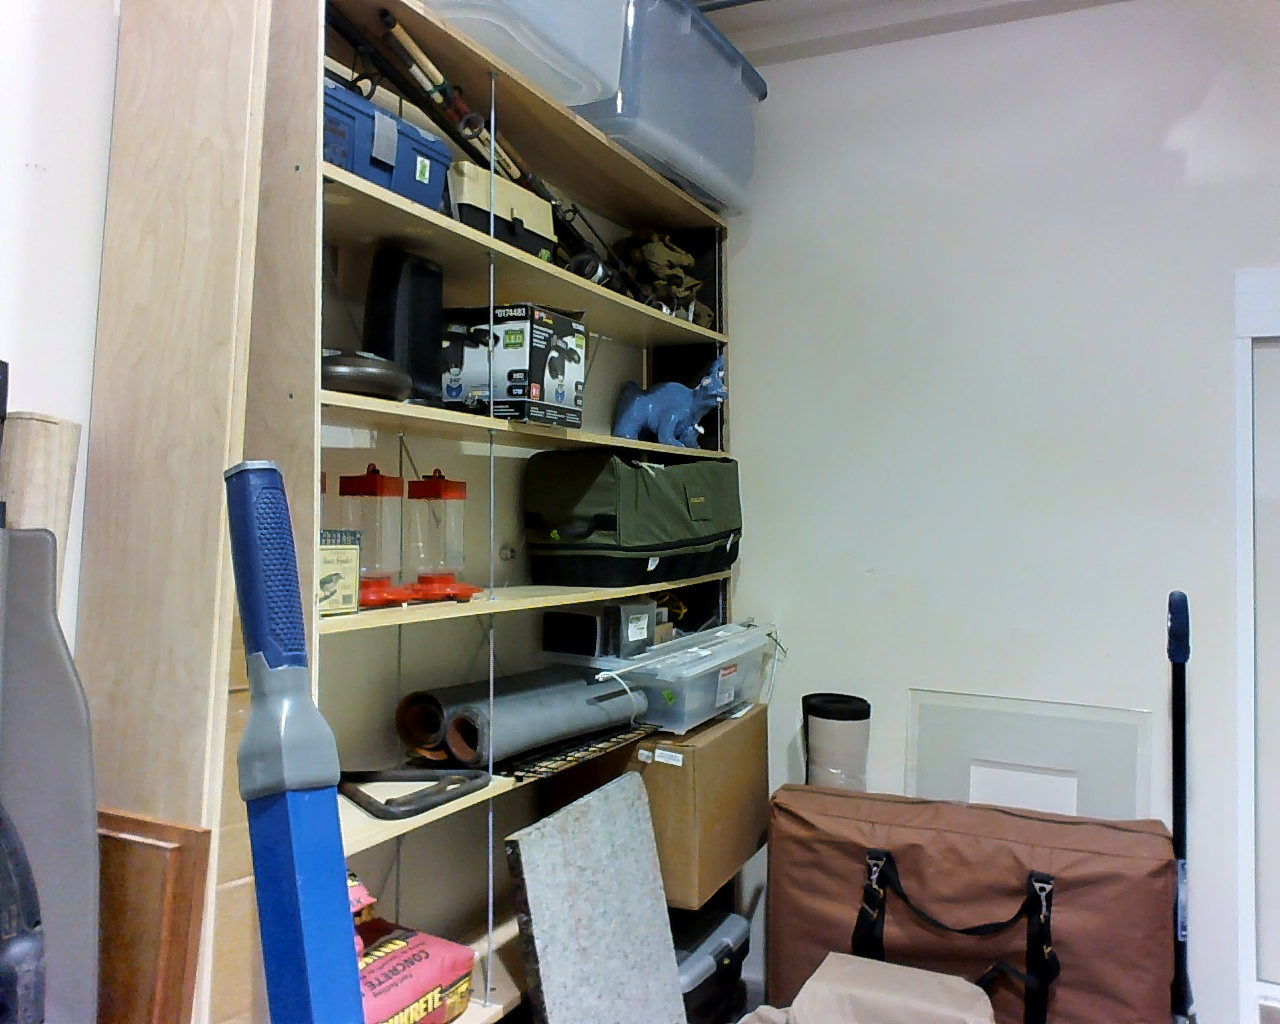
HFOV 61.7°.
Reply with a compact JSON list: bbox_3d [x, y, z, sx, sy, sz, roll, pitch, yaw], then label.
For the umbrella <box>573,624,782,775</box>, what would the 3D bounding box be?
[{"bbox_3d":[0.130,0.430,2.640,0.160,0.220,0.930,0,0,25],"label":"umbrella"}]
